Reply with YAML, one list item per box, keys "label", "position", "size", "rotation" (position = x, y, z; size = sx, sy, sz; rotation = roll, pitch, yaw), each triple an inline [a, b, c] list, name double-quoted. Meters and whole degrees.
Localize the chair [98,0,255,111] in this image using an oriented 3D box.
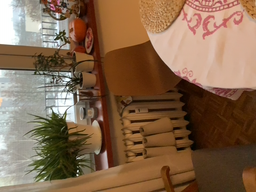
- label: "chair"
  position: [0.290, -0.270, 1.490]
  size: [0.570, 0.800, 0.520]
  rotation: [-53, 45, 51]
